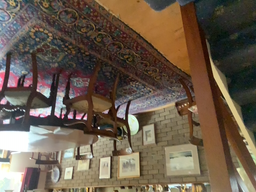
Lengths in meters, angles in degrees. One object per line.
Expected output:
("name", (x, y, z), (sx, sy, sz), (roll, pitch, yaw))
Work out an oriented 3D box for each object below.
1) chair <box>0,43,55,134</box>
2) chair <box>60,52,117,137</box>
("chair", (-1.190, -0.070, 2.450), (0.430, 0.890, 0.550), (1, 156, -3))
("chair", (-0.480, 0.010, 2.660), (0.440, 0.870, 0.500), (20, 149, -39))
